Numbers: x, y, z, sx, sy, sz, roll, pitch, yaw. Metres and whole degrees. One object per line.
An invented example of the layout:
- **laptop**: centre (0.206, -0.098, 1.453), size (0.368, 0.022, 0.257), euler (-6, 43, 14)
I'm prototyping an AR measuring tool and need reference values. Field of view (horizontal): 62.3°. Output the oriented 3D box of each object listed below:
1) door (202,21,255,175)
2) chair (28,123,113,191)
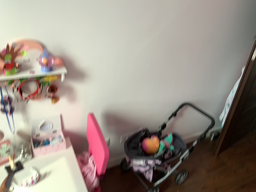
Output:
- **door**: centre (1.210, -0.300, 1.830), size (0.810, 2.190, 0.140), euler (-19, 38, -36)
- **chair**: centre (-0.340, 0.560, 1.270), size (0.360, 0.650, 0.350), euler (-10, 34, -25)
